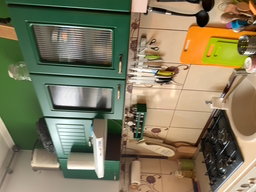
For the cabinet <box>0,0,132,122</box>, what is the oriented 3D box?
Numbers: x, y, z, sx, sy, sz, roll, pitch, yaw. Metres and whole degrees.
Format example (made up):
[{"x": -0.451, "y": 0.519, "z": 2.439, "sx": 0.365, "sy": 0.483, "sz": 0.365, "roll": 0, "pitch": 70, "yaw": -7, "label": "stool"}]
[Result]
[{"x": -0.310, "y": -0.200, "z": 1.380, "sx": 0.770, "sy": 0.610, "sz": 0.310, "roll": 95, "pitch": 178, "yaw": -46, "label": "cabinet"}]

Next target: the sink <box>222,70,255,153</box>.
[{"x": 0.880, "y": 0.100, "z": 1.470, "sx": 0.320, "sy": 0.210, "sz": 0.470, "roll": 95, "pitch": 178, "yaw": -46, "label": "sink"}]
